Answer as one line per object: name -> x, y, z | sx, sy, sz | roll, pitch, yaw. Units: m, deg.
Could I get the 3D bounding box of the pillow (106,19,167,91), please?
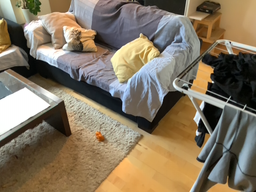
pillow -> 0.050, -0.360, 1.840 | 0.420, 0.200, 0.450 | -38, 38, 21

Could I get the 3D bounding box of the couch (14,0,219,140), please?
couch -> -0.140, -0.490, 2.150 | 1.590, 0.850, 0.930 | 24, 44, 27

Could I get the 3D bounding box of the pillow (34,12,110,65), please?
pillow -> -0.590, -0.650, 2.280 | 0.620, 0.270, 0.480 | 29, 47, 31

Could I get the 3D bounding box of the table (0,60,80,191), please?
table -> -1.020, 0.190, 1.660 | 0.880, 0.390, 0.840 | 26, 45, 29

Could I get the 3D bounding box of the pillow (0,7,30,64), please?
pillow -> -1.400, -0.700, 2.280 | 0.590, 0.400, 0.170 | 40, 29, 4
